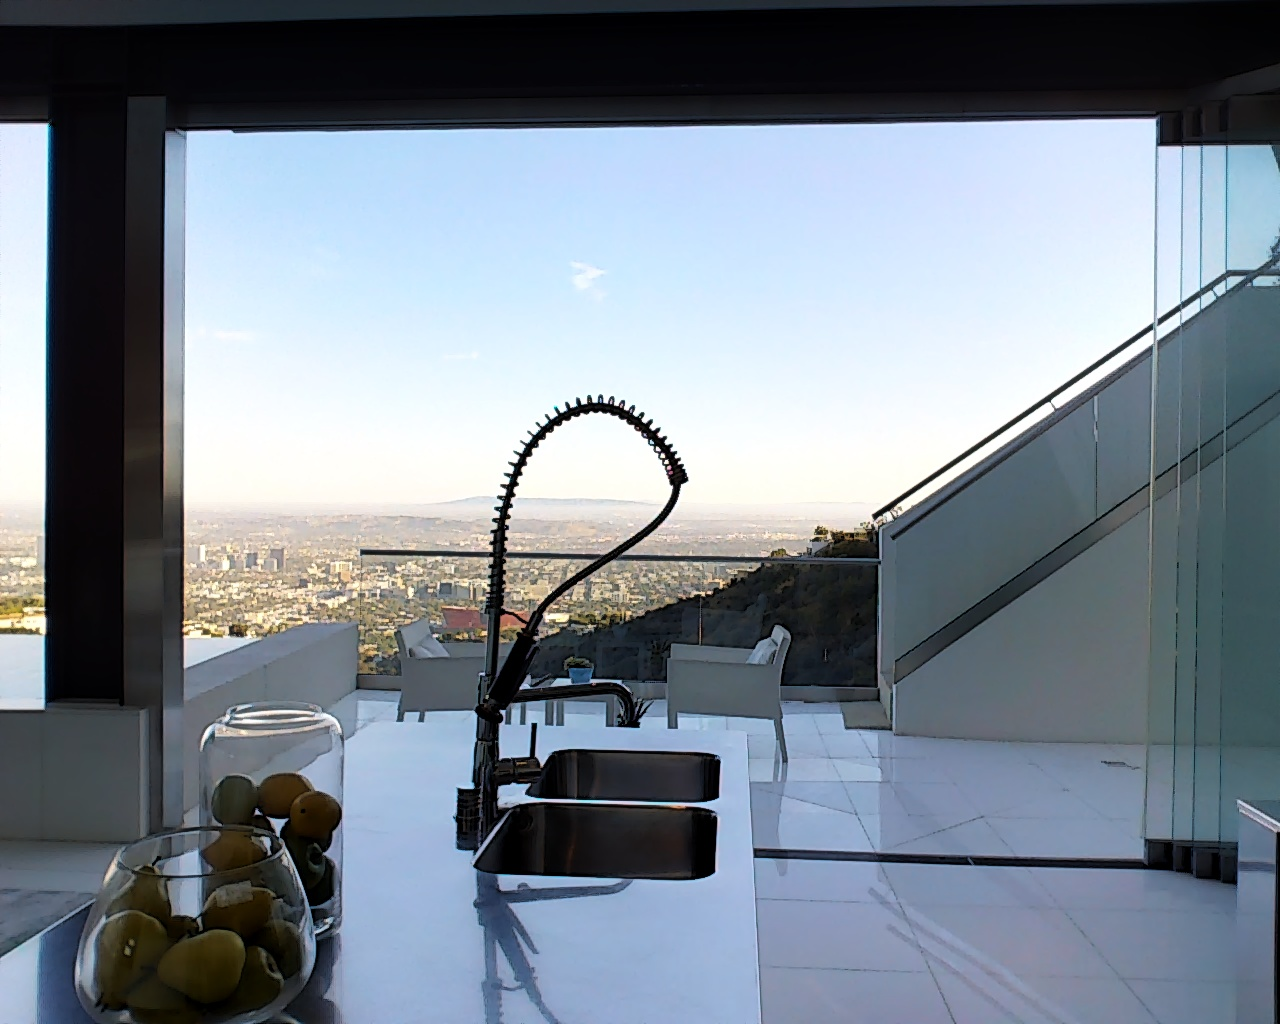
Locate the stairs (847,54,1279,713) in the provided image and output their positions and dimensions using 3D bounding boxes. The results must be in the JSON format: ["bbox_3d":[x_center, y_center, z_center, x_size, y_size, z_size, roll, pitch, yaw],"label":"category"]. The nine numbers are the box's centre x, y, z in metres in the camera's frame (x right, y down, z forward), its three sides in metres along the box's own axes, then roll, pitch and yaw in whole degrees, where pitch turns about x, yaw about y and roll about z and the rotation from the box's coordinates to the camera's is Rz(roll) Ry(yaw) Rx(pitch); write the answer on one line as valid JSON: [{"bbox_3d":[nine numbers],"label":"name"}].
[{"bbox_3d":[3.409,-0.800,7.500,3.789,4.061,1.530,0,1,9],"label":"stairs"}]
